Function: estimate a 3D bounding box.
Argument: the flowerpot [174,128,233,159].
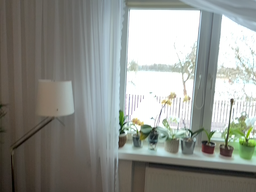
[{"bbox_3d":[0.680,0.430,1.970,0.480,0.190,0.170,4,8,9],"label":"flowerpot"}]

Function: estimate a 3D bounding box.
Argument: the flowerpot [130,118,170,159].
[{"bbox_3d":[0.210,0.400,2.020,0.350,0.310,0.150,5,8,14],"label":"flowerpot"}]

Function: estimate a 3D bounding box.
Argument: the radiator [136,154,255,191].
[{"bbox_3d":[0.600,1.010,2.050,1.020,0.700,0.230,5,8,13],"label":"radiator"}]
